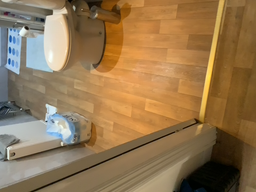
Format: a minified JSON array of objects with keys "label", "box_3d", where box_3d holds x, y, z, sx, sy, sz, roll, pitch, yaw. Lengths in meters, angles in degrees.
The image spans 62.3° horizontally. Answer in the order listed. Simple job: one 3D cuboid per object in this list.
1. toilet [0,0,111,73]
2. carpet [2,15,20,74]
[{"label":"toilet","box_3d":[-0.610,-0.550,1.760,0.400,0.830,0.650,16,104,39]},{"label":"carpet","box_3d":[-1.860,-0.820,3.350,0.530,0.030,0.850,19,106,38]}]
